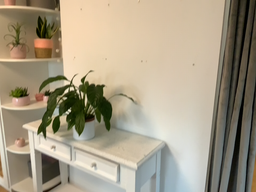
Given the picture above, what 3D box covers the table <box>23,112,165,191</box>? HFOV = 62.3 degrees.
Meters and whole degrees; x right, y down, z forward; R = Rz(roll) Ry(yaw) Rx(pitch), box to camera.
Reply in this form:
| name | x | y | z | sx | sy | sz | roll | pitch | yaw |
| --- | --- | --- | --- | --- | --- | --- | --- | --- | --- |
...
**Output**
| name | x | y | z | sx | sy | sz | roll | pitch | yaw |
| --- | --- | --- | --- | --- | --- | --- | --- | --- | --- |
| table | -0.350 | 0.720 | 1.860 | 1.230 | 0.880 | 0.400 | 10 | 16 | 33 |
